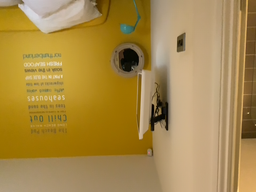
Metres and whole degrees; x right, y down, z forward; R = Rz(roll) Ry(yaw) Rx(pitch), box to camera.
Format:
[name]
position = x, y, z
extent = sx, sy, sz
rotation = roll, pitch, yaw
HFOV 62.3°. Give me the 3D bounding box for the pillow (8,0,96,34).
[pillow]
position = -0.740, -0.870, 2.110
extent = 0.700, 0.390, 0.430
rotation = 2, -170, 21
